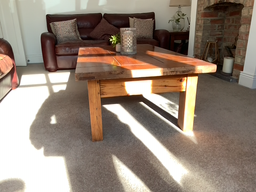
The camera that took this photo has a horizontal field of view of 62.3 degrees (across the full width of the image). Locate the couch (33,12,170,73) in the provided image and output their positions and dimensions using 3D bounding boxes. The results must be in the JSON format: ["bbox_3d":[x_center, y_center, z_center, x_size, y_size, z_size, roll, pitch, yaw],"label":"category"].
[{"bbox_3d":[-0.440,-1.010,3.780,2.030,0.830,1.090,-6,20,-13],"label":"couch"}]

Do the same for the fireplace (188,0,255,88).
[{"bbox_3d":[1.380,-0.910,2.920,0.460,1.250,1.280,-5,20,-10],"label":"fireplace"}]
